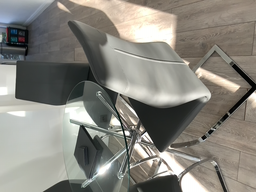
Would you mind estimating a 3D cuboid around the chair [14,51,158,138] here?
[{"bbox_3d":[-0.350,-0.060,1.800,0.590,0.990,0.400,38,121,45],"label":"chair"}]

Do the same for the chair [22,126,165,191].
[{"bbox_3d":[-0.280,0.680,1.760,0.450,0.980,0.590,42,124,43],"label":"chair"}]

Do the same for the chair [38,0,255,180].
[{"bbox_3d":[0.140,-0.030,1.150,0.480,1.010,0.540,60,135,31],"label":"chair"}]
